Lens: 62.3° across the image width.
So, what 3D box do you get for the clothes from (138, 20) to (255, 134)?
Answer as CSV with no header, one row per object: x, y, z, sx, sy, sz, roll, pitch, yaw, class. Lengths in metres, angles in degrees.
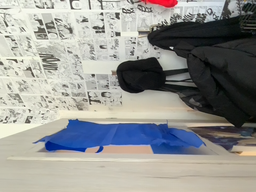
0.660,-0.020,0.830,0.520,1.220,0.200,90,180,-64,clothes
